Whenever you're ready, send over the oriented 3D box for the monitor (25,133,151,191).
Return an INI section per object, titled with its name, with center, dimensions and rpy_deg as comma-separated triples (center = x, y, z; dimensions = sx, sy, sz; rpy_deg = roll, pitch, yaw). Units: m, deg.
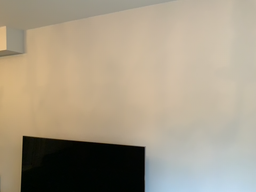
[monitor]
center = -0.400, 0.750, 1.810
dimensions = 1.210, 0.770, 0.070
rpy_deg = 0, -4, 23
